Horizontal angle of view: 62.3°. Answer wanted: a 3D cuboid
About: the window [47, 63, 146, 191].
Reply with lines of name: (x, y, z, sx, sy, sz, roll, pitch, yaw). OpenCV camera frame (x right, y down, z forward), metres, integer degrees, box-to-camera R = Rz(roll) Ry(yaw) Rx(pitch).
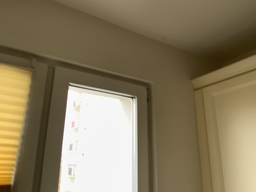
window: (-0.130, 0.550, 0.970, 0.470, 1.360, 0.110, 13, -21, -35)
